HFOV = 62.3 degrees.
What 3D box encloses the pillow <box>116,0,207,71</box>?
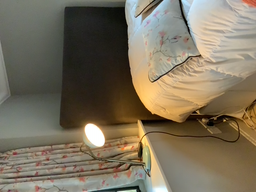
[{"bbox_3d":[0.210,-0.410,1.350,0.530,0.260,0.070,38,150,11],"label":"pillow"}]
